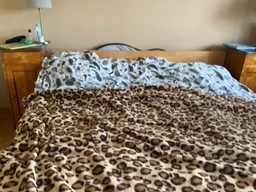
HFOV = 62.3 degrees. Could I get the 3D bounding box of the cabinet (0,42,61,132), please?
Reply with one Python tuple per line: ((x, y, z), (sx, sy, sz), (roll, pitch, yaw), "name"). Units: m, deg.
((-0.980, -0.100, 2.210), (0.410, 0.830, 0.440), (1, 23, -6), "cabinet")
